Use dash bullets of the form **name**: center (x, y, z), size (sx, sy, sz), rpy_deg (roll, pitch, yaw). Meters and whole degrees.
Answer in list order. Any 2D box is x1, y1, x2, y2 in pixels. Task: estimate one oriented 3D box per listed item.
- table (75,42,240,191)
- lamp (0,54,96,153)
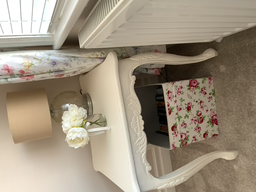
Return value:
- **table**: center (0.110, 0.100, 1.220), size (0.640, 0.600, 0.630), rpy_deg (-5, 94, 65)
- **lamp**: center (-0.440, 0.030, 1.150), size (0.320, 0.410, 0.360), rpy_deg (62, 149, 34)
